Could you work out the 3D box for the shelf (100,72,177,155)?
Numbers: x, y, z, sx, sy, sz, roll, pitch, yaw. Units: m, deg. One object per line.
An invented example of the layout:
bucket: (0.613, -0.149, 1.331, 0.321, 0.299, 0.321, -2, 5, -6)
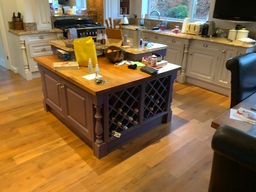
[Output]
shelf: (0.150, 0.160, 2.390, 1.050, 0.690, 0.070, -17, 31, -37)
